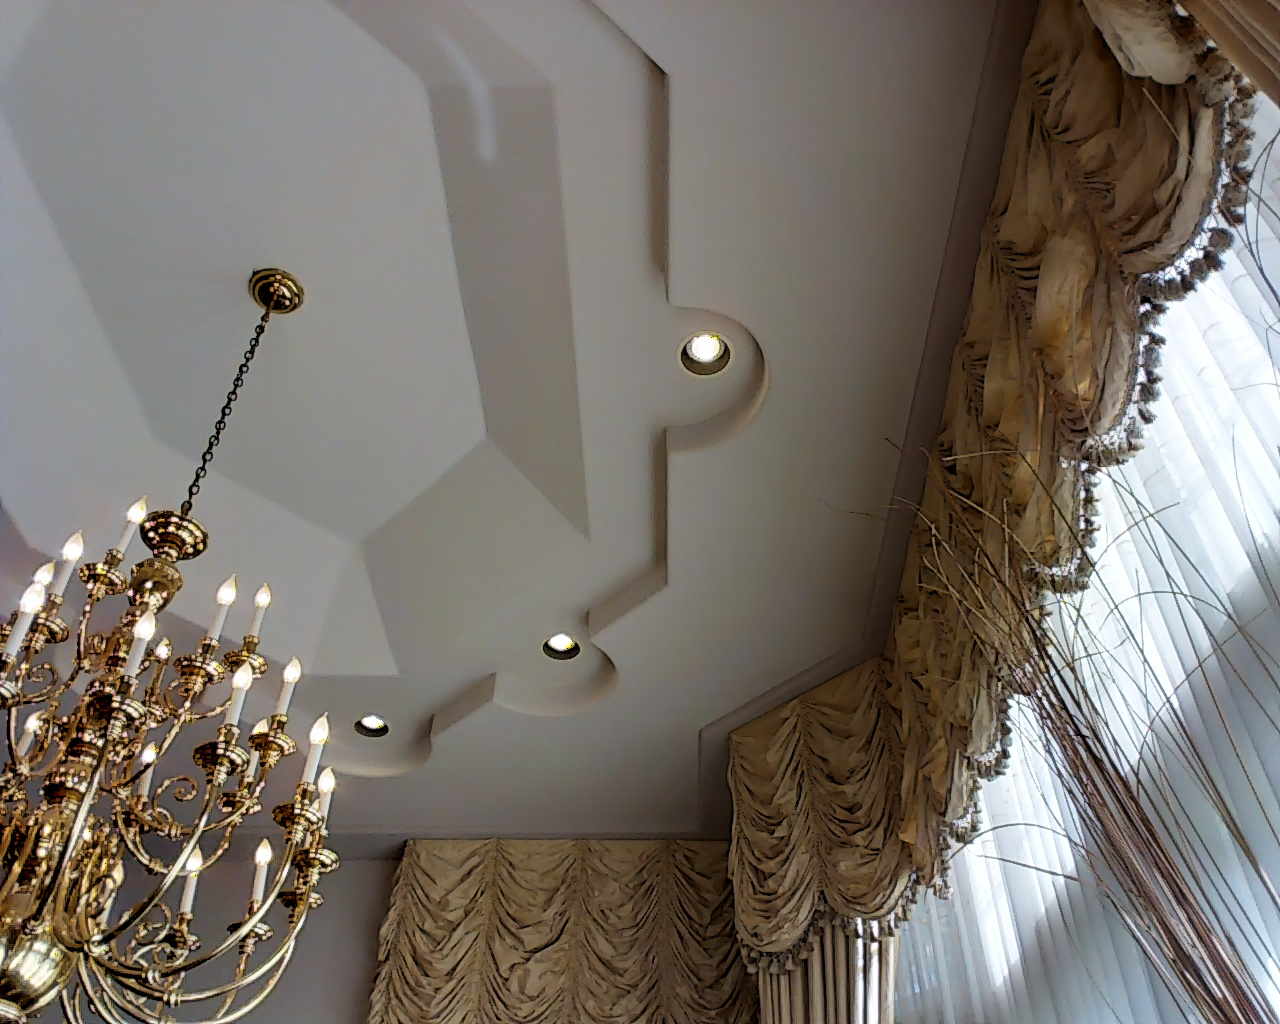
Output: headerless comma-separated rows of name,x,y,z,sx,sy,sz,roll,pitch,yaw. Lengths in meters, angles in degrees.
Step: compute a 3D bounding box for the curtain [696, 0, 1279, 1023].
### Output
curtain,0.650,0.990,1.900,0.850,3.950,4.130,0,-43,0
